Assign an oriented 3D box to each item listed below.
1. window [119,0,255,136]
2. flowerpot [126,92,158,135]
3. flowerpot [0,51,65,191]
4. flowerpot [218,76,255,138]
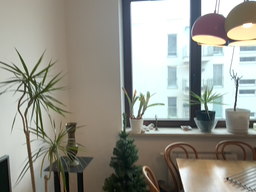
[{"bbox_3d":[0.830,-0.460,2.490,1.830,1.830,0.220,0,5,6],"label":"window"},{"bbox_3d":[0.180,0.200,2.570,0.360,0.470,0.260,0,5,10],"label":"flowerpot"},{"bbox_3d":[-0.630,0.380,1.410,0.230,1.280,0.420,0,5,7],"label":"flowerpot"},{"bbox_3d":[1.240,0.110,2.400,0.340,0.660,0.290,0,5,9],"label":"flowerpot"}]
